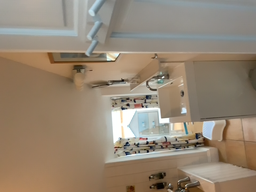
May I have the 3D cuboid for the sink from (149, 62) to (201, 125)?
[{"bbox_3d":[0.380,0.010,1.890,0.620,0.140,0.450,145,120,-73],"label":"sink"}]
